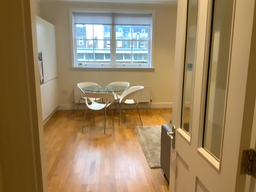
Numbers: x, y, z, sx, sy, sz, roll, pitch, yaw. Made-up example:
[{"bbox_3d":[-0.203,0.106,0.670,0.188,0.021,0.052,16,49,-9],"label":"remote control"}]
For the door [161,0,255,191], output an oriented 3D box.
[{"bbox_3d":[0.360,0.310,1.240,0.060,2.070,0.850,0,12,-6],"label":"door"}]
